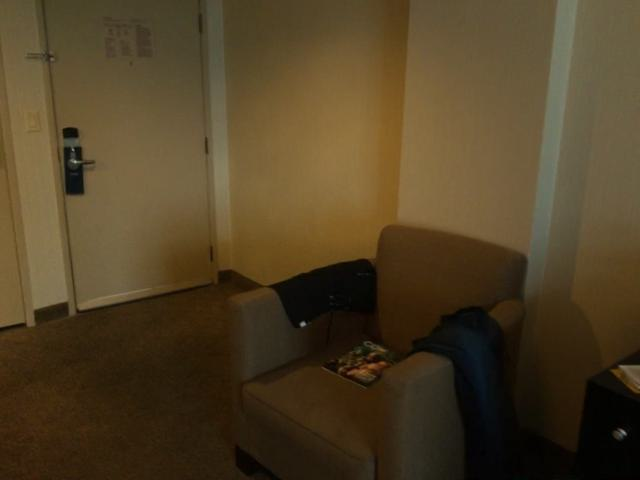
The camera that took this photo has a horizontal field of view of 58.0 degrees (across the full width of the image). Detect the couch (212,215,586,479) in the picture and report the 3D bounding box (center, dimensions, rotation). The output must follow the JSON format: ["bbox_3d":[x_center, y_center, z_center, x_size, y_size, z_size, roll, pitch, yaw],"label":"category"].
[{"bbox_3d":[0.230,0.460,2.030,0.890,0.850,0.850,-10,19,-34],"label":"couch"}]

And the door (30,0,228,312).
[{"bbox_3d":[-1.100,-0.630,3.500,0.970,1.960,0.300,-10,19,-34],"label":"door"}]
